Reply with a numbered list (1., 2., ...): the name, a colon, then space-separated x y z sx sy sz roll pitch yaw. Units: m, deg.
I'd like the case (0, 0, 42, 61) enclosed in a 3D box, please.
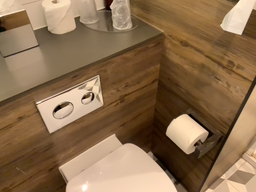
1. case: -0.400 -0.240 0.710 0.130 0.170 0.130 -28 51 -25
